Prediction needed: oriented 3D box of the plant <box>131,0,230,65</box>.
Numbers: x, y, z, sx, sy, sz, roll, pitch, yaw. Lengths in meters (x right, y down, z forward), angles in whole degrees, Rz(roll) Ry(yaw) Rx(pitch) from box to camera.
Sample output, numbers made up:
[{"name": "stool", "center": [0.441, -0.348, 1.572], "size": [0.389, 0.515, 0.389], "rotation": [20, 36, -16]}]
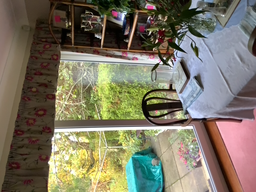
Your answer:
[{"name": "plant", "center": [0.310, -0.500, 1.450], "size": [0.320, 0.460, 0.460], "rotation": [107, 159, -46]}]
